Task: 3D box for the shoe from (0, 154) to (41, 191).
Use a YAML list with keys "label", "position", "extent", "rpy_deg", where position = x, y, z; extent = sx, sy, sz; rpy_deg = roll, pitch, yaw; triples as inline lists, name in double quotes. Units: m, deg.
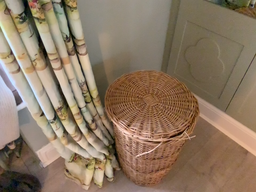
- label: "shoe"
  position: [-0.660, 0.490, 1.150]
  extent: [0.240, 0.080, 0.250]
  rpy_deg: [30, 53, 25]
